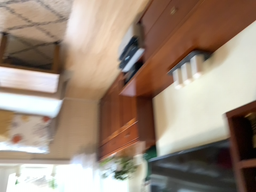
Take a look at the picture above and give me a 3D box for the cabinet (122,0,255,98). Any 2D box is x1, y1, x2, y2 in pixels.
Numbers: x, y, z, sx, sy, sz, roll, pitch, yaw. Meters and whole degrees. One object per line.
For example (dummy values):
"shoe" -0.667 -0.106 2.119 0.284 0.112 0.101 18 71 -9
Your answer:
"cabinet" 0.350 -0.520 1.570 0.350 0.580 1.380 7 156 -20

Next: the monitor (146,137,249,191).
"monitor" 0.350 0.620 1.350 0.040 0.520 0.990 6 156 -18
